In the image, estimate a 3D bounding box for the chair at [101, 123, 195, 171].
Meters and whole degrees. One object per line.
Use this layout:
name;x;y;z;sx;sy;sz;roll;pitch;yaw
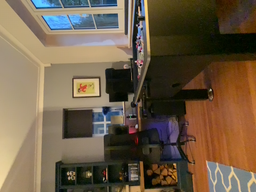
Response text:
chair;0.270;0.770;3.420;0.740;1.330;0.630;106;162;-83

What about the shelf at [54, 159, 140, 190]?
shelf;-0.530;1.370;3.730;0.280;1.440;0.410;101;167;-80
